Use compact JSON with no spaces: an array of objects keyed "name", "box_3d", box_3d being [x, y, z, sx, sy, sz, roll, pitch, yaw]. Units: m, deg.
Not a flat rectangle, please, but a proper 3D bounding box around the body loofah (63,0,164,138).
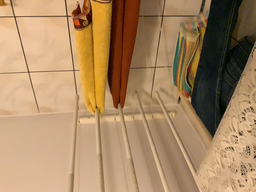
[{"name":"body loofah","box_3d":[-0.060,-0.220,0.760,0.250,0.690,0.350,-1,-143,-7]}]
